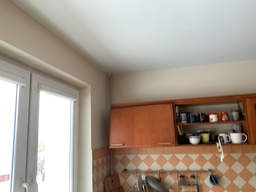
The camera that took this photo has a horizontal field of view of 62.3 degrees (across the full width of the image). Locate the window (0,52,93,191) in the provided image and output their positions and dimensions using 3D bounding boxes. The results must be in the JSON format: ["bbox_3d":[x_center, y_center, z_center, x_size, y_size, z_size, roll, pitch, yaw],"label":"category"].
[{"bbox_3d":[-0.630,0.510,1.480,0.090,1.420,1.430,-6,-11,18],"label":"window"}]
